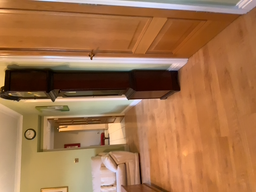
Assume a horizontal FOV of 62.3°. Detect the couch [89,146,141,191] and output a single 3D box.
[{"bbox_3d":[-0.300,2.140,4.340,1.060,0.900,2.100,134,134,-72],"label":"couch"}]
